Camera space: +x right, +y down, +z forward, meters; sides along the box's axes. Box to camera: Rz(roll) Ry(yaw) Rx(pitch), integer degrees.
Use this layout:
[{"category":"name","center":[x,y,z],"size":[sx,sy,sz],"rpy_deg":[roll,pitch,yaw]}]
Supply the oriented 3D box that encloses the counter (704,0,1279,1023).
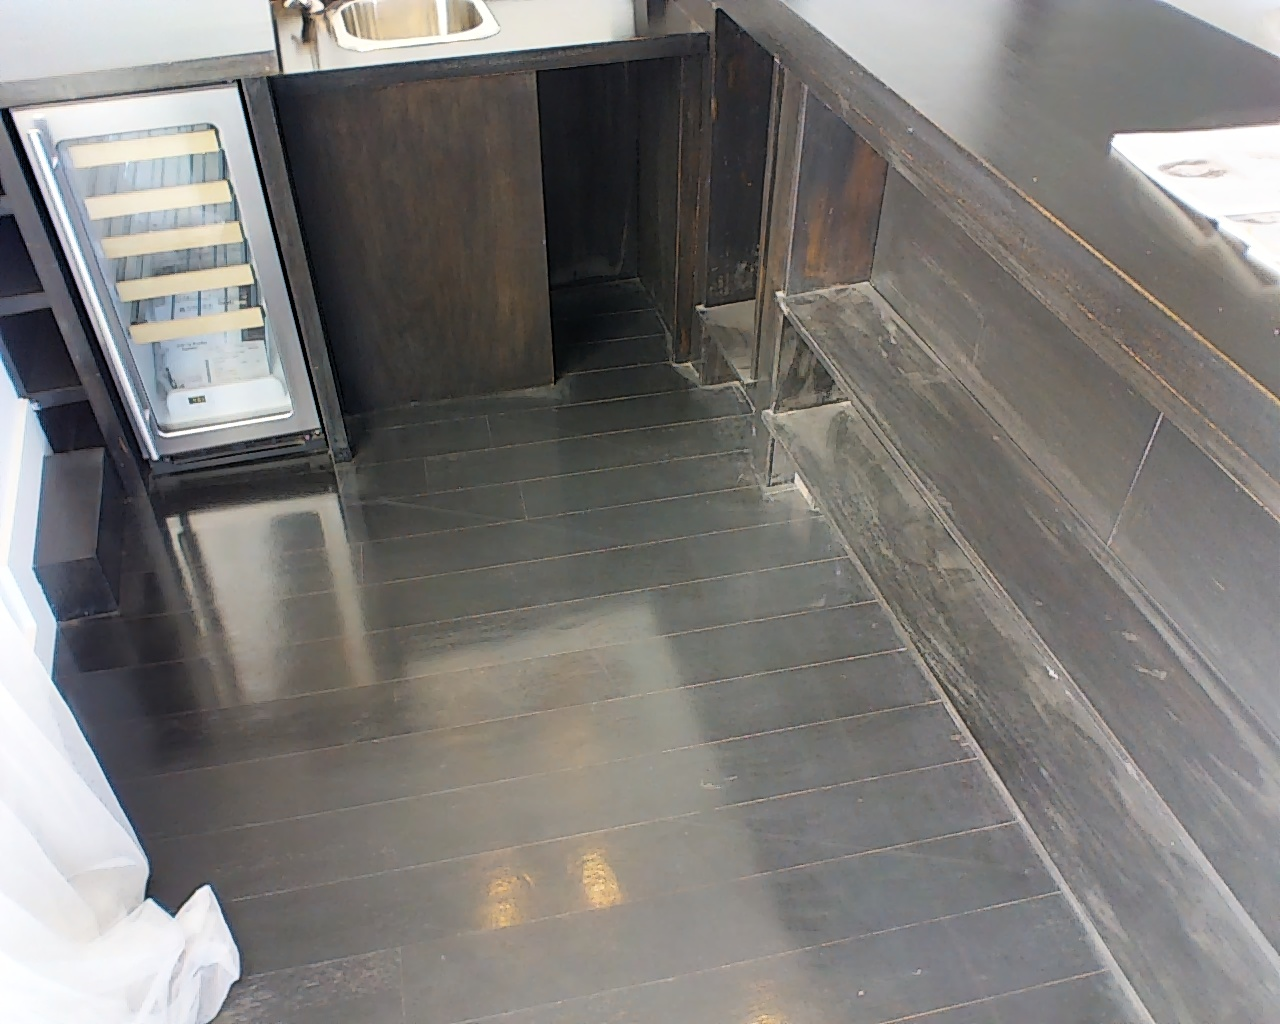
[{"category":"counter","center":[0.720,0.070,1.500],"size":[0.640,1.110,2.010],"rpy_deg":[-10,43,-11]}]
